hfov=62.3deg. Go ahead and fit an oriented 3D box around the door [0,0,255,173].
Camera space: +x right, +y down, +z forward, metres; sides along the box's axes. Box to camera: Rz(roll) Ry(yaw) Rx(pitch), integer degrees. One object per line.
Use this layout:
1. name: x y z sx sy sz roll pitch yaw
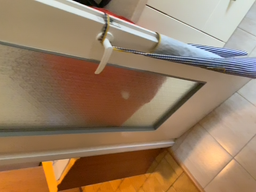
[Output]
1. door: -0.220 0.040 0.850 0.920 1.990 0.120 -48 52 35
